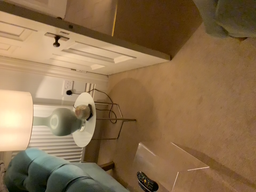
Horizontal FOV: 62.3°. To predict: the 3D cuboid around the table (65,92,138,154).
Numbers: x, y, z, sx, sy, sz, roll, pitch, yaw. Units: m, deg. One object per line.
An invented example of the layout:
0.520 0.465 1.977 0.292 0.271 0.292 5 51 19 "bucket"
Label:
-0.240 0.220 1.880 0.430 0.430 0.420 12 94 52 "table"
